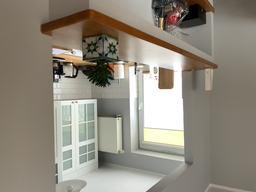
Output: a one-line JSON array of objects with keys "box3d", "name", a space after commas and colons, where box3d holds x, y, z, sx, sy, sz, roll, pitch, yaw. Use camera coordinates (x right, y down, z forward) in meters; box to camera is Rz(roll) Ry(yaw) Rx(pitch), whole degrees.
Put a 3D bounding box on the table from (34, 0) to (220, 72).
[{"box3d": [0.320, -0.840, 1.660, 0.350, 1.130, 2.090, -1, -179, 34], "name": "table"}]
